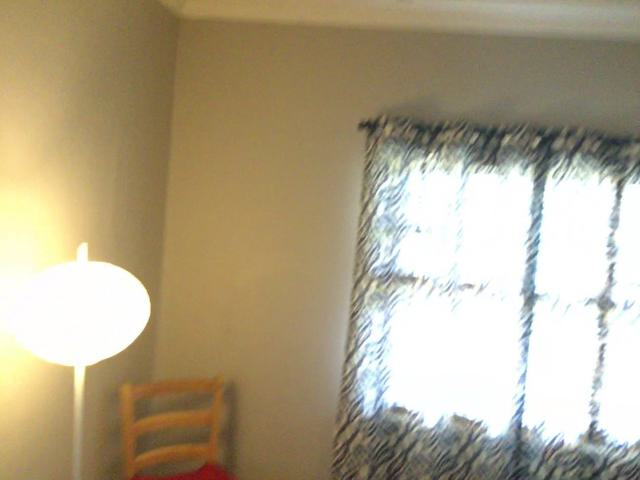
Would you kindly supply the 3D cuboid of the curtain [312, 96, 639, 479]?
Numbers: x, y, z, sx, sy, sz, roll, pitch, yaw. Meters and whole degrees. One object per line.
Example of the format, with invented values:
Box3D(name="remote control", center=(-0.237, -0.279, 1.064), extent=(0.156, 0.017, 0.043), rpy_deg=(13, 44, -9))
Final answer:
Box3D(name="curtain", center=(0.790, 0.530, 2.270), extent=(1.540, 2.050, 0.220), rpy_deg=(6, 2, 11))
